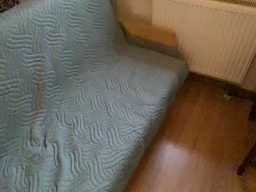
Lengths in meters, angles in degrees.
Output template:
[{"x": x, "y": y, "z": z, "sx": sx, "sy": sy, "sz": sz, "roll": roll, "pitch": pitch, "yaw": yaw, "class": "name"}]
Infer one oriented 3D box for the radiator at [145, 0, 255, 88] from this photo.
[{"x": 0.550, "y": -0.470, "z": 1.690, "sx": 0.860, "sy": 0.610, "sz": 0.110, "roll": 23, "pitch": 50, "yaw": 23, "class": "radiator"}]
